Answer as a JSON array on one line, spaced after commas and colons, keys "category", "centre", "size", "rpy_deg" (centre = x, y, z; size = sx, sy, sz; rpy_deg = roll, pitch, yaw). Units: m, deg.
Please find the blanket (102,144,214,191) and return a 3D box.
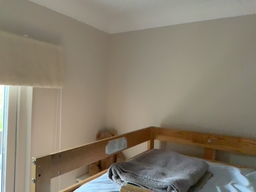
[{"category": "blanket", "centre": [0.180, 0.350, 1.080], "size": [0.470, 0.420, 0.080], "rpy_deg": [6, 88, -61]}]
